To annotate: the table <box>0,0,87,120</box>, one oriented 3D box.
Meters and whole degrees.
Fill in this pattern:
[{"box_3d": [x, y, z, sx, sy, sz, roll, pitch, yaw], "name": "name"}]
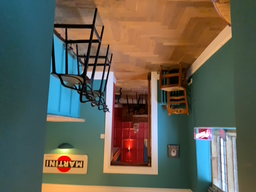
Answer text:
[{"box_3d": [-1.120, -0.250, 2.810, 0.610, 1.100, 2.150, 0, 173, 2], "name": "table"}]
